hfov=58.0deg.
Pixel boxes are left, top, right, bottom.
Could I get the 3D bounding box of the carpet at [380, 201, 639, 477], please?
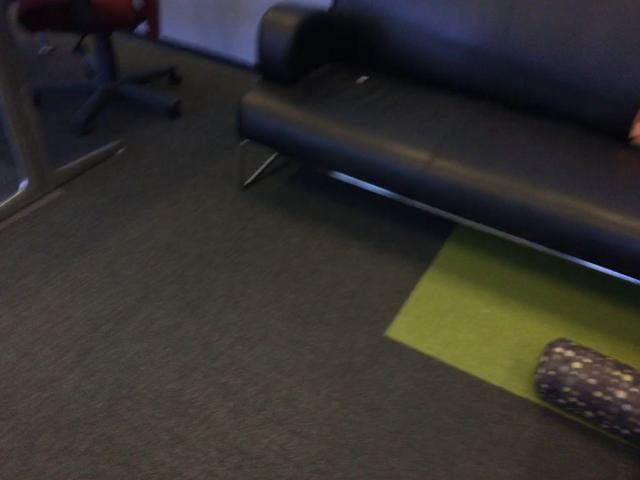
[{"bbox_3d":[0.890,0.290,1.620,1.200,0.040,0.870,21,39,19],"label":"carpet"}]
